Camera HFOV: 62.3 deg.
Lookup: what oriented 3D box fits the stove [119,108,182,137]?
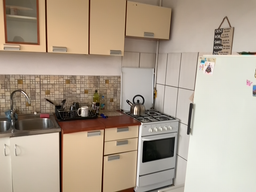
[{"bbox_3d":[0.250,0.300,2.600,0.530,0.140,0.600,-2,10,-26],"label":"stove"}]
